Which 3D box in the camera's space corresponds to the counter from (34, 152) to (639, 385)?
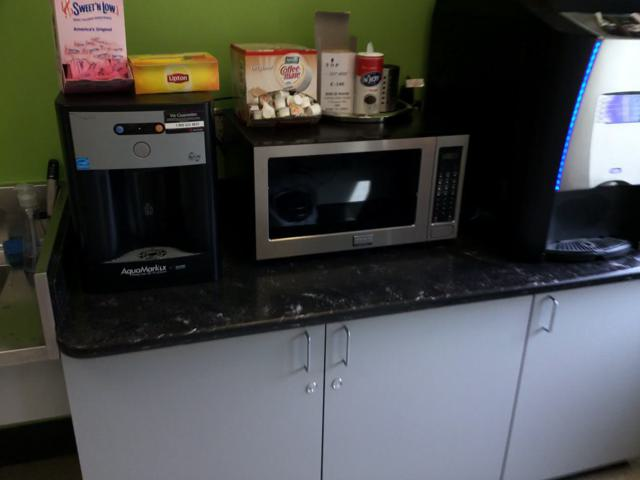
[{"bbox_3d":[0.220,-0.030,1.680,1.790,0.230,0.760,-5,22,-17],"label":"counter"}]
